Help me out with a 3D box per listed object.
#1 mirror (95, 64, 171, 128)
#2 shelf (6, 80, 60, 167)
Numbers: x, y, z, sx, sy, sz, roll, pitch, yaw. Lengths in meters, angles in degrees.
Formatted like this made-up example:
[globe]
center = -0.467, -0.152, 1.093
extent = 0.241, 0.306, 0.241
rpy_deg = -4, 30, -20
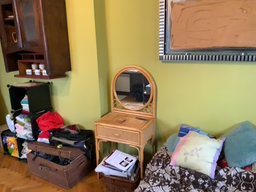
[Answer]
[mirror]
center = 0.090, -0.060, 2.650
extent = 0.680, 0.610, 0.680
rpy_deg = 6, 16, 29
[shelf]
center = -1.310, 0.360, 2.970
extent = 0.410, 1.100, 0.390
rpy_deg = 6, 16, 29
